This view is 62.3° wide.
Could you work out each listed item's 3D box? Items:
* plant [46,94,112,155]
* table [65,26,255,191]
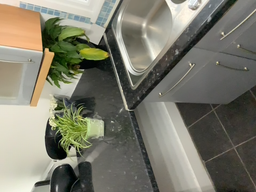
[{"bbox_3d":[-0.330,0.190,1.350,0.360,0.290,0.270,-38,56,51],"label":"plant"},{"bbox_3d":[0.210,0.530,1.570,0.990,0.910,1.660,-50,48,45],"label":"table"}]
